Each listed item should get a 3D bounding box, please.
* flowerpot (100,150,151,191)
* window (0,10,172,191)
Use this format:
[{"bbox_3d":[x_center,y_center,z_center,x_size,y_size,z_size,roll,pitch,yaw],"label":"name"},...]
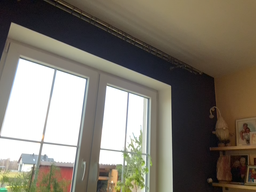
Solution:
[{"bbox_3d":[-0.030,0.840,1.760,0.290,0.720,0.310,19,-24,-37],"label":"flowerpot"},{"bbox_3d":[-0.250,0.370,1.610,1.490,1.500,0.230,18,-24,-35],"label":"window"}]
